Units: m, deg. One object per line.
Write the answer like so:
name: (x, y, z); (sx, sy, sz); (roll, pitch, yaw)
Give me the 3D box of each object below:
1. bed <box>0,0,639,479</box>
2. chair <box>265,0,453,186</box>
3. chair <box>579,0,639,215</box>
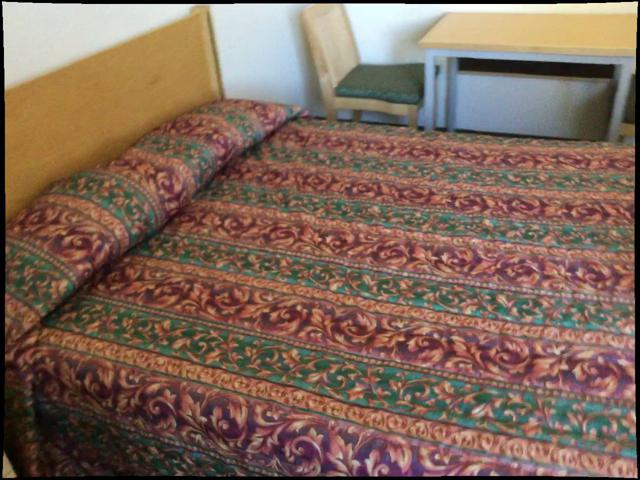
bed: (0.180, 0.040, 1.660); (2.238, 0.991, 1.860); (11, 37, 23)
chair: (0.240, -0.851, 3.120); (0.779, 0.841, 0.580); (11, 37, 23)
chair: (1.568, -0.621, 2.520); (0.630, 0.861, 0.620); (11, 37, 23)
